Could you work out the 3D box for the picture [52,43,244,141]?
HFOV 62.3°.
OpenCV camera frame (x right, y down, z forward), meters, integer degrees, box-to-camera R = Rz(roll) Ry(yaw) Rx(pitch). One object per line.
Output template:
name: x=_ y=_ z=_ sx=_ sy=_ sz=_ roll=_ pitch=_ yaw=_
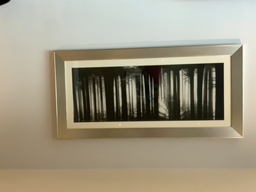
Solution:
picture: x=0.160 y=-0.020 z=1.810 sx=1.580 sy=0.800 sz=0.050 roll=-1 pitch=-175 yaw=3
